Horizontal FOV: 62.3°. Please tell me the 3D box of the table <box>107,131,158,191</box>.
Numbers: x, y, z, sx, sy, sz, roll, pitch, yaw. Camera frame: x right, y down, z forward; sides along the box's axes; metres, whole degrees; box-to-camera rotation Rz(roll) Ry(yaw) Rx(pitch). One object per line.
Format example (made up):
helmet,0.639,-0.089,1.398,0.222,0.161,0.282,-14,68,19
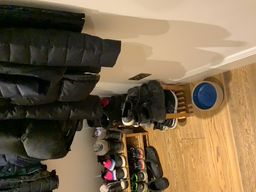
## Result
table,0.050,0.780,1.960,0.290,0.310,0.860,-17,76,53
